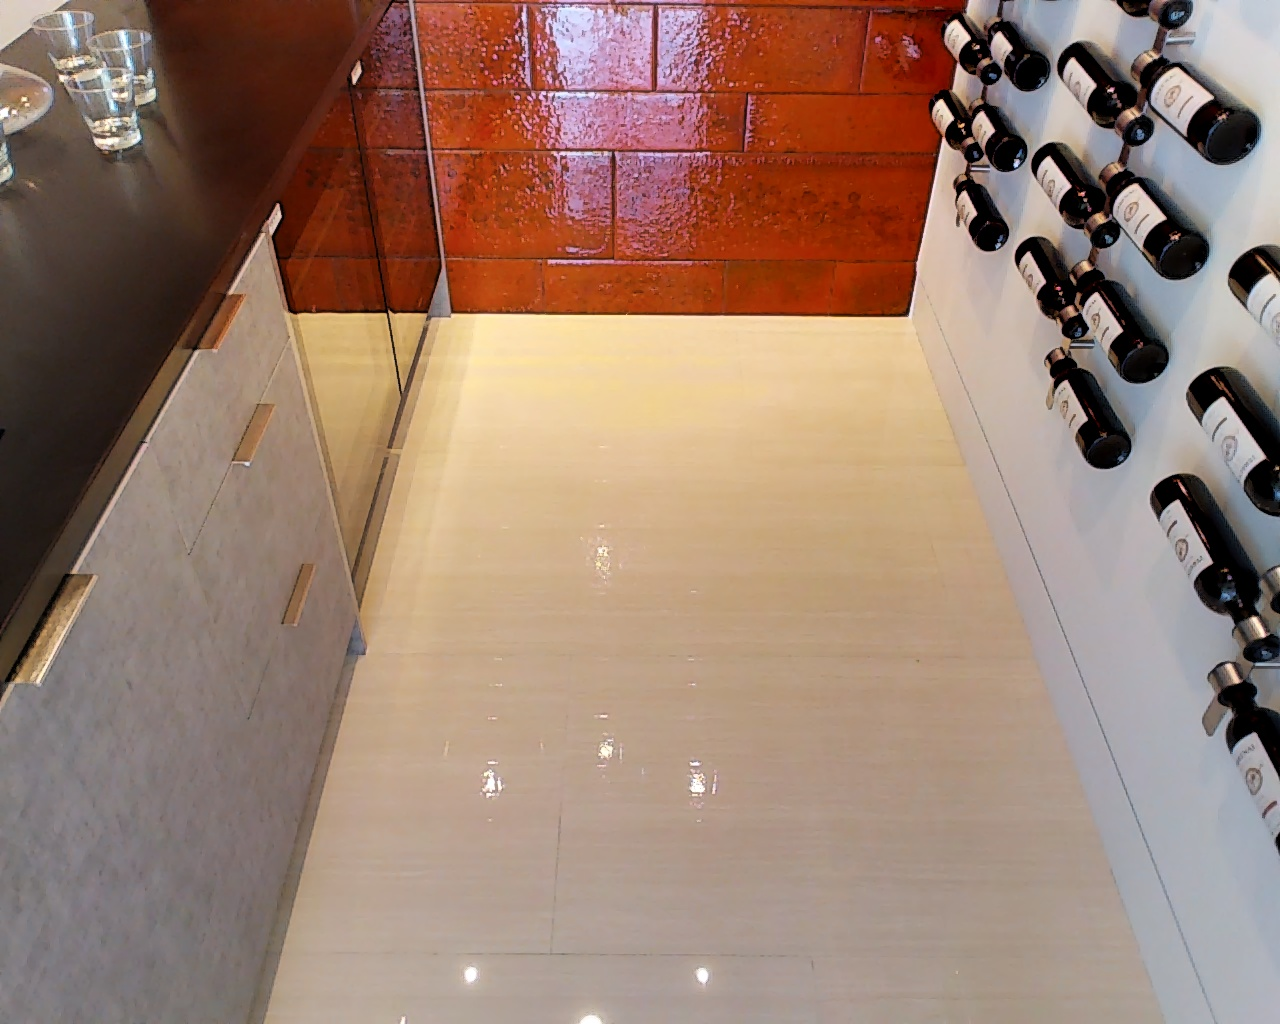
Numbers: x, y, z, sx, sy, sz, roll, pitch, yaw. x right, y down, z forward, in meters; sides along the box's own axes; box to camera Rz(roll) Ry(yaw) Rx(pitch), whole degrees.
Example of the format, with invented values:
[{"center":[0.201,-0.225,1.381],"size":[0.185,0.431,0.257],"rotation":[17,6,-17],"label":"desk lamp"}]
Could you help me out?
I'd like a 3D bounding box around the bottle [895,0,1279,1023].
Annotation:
[{"center":[0.710,-0.550,1.120],"size":[0.210,1.420,2.660],"rotation":[1,41,0],"label":"bottle"}]
